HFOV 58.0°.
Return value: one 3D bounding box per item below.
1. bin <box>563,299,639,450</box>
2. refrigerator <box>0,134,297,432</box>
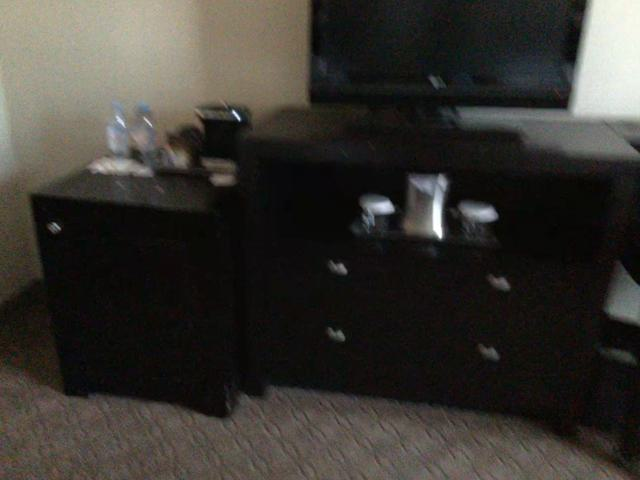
[{"bbox_3d":[0.980,0.430,1.890,0.260,0.310,0.370,4,23,13],"label":"bin"},{"bbox_3d":[-0.540,0.100,2.130,0.720,0.820,0.680,4,23,13],"label":"refrigerator"}]
